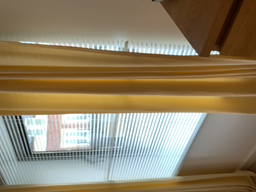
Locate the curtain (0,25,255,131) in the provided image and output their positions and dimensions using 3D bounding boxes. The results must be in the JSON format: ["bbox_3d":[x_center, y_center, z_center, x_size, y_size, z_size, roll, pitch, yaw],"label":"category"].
[{"bbox_3d":[0.140,-0.050,1.040,0.180,2.430,0.440,-100,15,-45],"label":"curtain"}]
